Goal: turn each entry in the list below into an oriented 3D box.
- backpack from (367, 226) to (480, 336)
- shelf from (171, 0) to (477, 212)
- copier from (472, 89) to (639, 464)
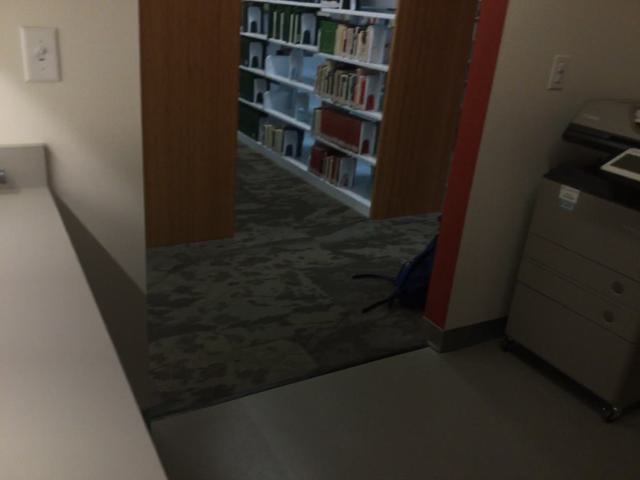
[{"bbox_3d":[0.450,0.170,2.610,0.250,0.300,0.440,-8,26,-27],"label":"backpack"},{"bbox_3d":[-0.500,-1.720,5.280,0.420,1.300,4.900,-8,26,-27],"label":"shelf"},{"bbox_3d":[1.170,0.050,2.100,0.730,1.050,0.730,-8,26,-27],"label":"copier"}]
